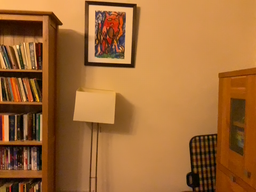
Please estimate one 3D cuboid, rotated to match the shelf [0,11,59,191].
[{"bbox_3d":[-1.080,0.340,1.740,0.900,1.950,0.320,2,2,-6],"label":"shelf"}]
